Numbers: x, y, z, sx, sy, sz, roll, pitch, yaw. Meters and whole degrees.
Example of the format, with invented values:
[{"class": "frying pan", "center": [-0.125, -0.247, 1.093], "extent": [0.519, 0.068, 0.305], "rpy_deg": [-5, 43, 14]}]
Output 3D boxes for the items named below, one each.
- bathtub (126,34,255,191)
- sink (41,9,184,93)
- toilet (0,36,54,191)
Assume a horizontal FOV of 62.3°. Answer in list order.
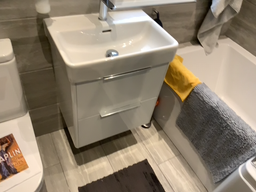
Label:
[{"class": "bathtub", "center": [0.780, 0.370, 1.330], "extent": [0.820, 0.610, 1.680], "rpy_deg": [-16, 52, -25]}, {"class": "sink", "center": [-0.080, -0.260, 1.060], "extent": [0.570, 0.130, 0.390], "rpy_deg": [-16, 51, -25]}, {"class": "toilet", "center": [-0.620, 0.260, 1.010], "extent": [0.370, 0.820, 0.600], "rpy_deg": [-16, 51, -25]}]
